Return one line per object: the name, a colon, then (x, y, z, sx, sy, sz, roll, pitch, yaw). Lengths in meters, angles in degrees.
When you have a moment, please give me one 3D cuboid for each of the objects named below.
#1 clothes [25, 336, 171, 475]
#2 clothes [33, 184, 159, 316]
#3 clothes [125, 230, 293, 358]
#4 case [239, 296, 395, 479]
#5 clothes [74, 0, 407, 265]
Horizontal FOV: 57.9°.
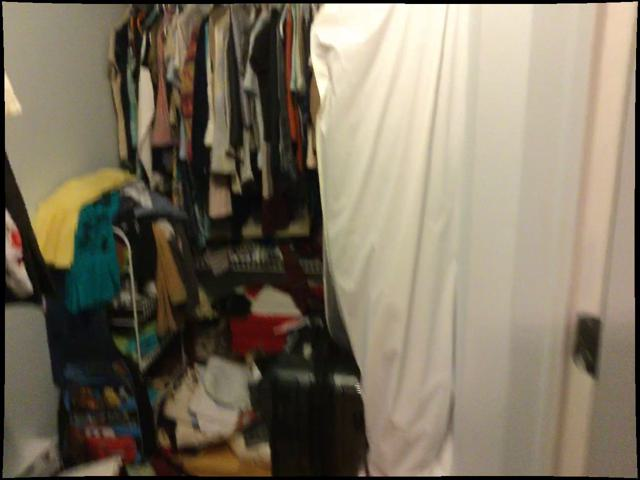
clothes: (-0.789, 0.591, 2.100, 0.390, 0.390, 0.230, 2, 17, 10)
clothes: (-0.779, 0.020, 2.070, 0.220, 0.370, 0.370, 2, 17, 10)
clothes: (-0.470, 0.220, 2.610, 0.589, 0.400, 0.460, 2, 17, 11)
case: (0.020, 0.561, 1.720, 0.360, 0.651, 0.440, 2, 17, 11)
clothes: (-0.280, -0.501, 2.400, 1.229, 1.071, 0.420, 2, 17, 11)
